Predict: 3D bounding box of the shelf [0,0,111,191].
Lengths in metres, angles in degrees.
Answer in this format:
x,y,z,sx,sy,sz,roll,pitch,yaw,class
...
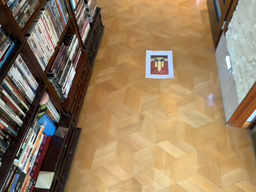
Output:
x,y,z,sx,sy,sz,roll,pitch,yaw,class
-0.400,-0.230,1.120,0.240,0.920,1.710,4,55,6,shelf
